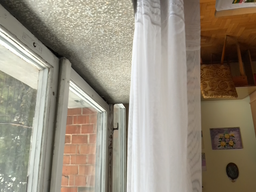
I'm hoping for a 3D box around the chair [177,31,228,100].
[{"bbox_3d":[0.930,-0.370,2.730,0.390,0.750,0.430,2,165,-10],"label":"chair"}]

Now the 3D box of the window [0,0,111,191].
[{"bbox_3d":[-0.320,0.470,0.550,0.150,1.530,1.900,-3,165,7],"label":"window"}]
